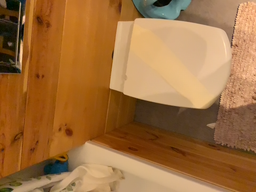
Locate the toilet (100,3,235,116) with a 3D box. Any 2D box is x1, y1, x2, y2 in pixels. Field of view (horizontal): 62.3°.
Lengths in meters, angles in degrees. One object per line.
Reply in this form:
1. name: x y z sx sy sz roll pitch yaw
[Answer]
1. toilet: 0.220 -0.190 1.100 0.510 0.440 0.400 14 100 24
